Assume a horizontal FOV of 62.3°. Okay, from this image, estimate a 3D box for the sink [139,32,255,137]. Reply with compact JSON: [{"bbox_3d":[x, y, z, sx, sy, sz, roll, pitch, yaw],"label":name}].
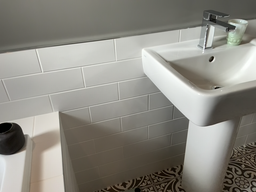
[{"bbox_3d":[0.390,-0.100,0.860,0.570,0.150,0.430,-12,33,-15],"label":"sink"}]
